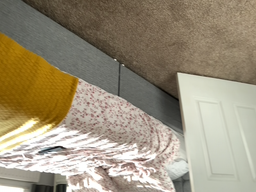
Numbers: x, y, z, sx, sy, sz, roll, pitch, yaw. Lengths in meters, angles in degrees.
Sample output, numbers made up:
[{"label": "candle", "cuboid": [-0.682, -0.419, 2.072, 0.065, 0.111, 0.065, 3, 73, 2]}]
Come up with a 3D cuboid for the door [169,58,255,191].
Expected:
[{"label": "door", "cuboid": [0.810, 0.700, 1.310, 0.910, 2.150, 0.110, 6, 149, -12]}]
